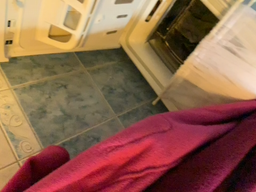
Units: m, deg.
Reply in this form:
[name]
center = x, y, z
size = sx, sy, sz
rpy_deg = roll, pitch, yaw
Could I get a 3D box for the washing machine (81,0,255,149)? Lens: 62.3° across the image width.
[washing machine]
center = 0.380, -0.330, 0.960
size = 0.700, 0.840, 0.440
rpy_deg = 55, 139, 13
